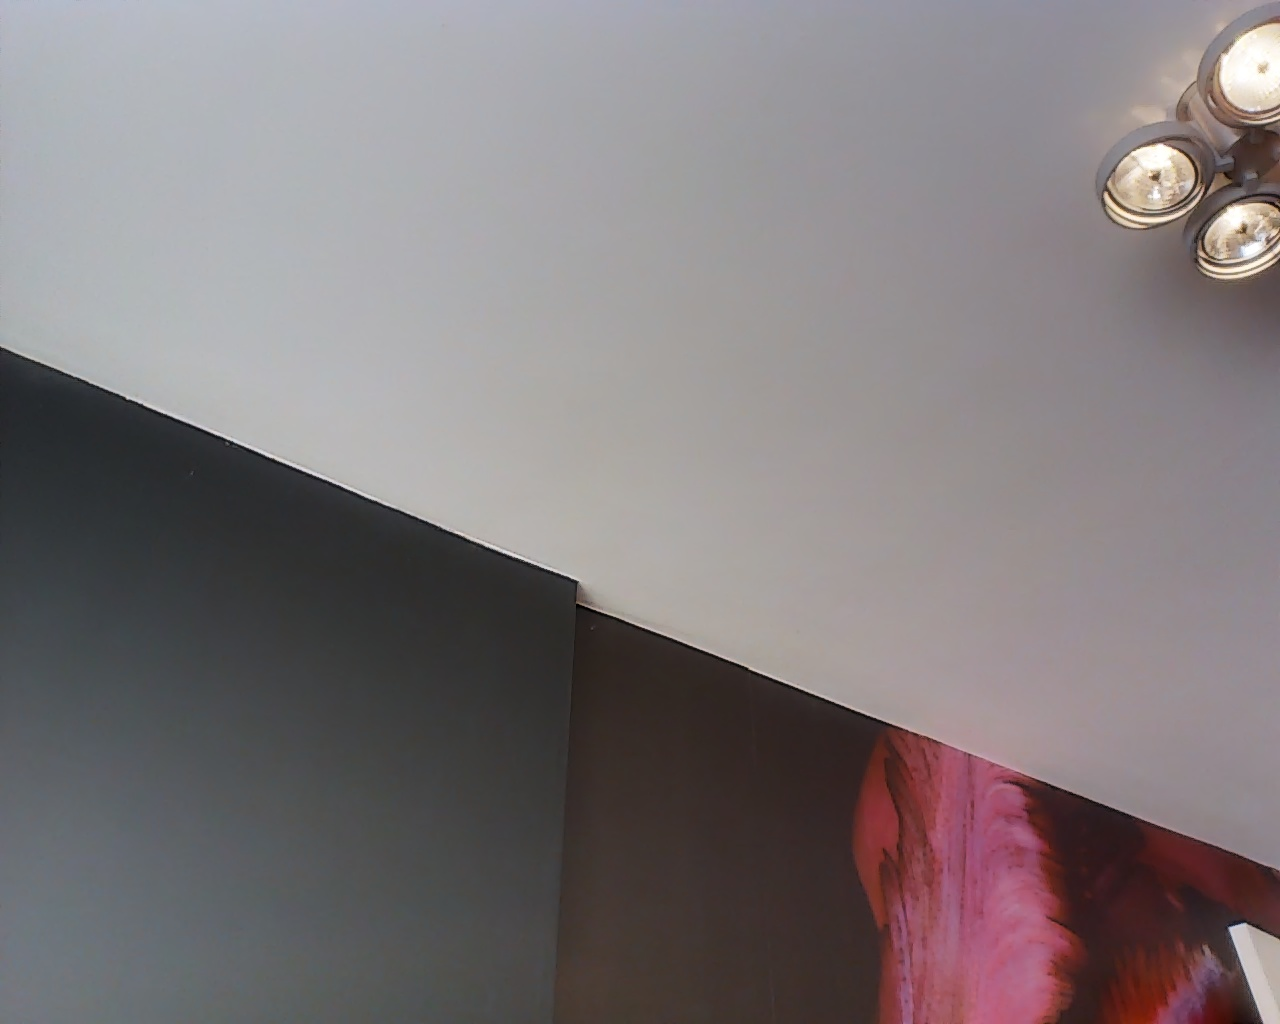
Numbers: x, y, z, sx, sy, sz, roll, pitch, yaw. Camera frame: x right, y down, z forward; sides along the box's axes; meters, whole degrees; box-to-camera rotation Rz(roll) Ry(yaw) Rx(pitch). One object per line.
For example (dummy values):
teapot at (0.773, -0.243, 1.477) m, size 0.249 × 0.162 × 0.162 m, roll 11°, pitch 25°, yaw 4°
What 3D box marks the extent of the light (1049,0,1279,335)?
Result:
light at (0.740, -0.470, 1.340) m, size 0.180 × 0.340 × 0.310 m, roll 20°, pitch -45°, yaw -27°
